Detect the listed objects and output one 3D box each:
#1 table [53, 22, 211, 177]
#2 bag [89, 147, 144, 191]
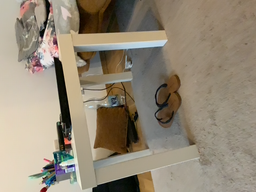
[{"bbox_3d":[-0.070,0.070,1.090,0.670,0.490,0.530,124,134,-64],"label":"table"},{"bbox_3d":[-0.100,0.670,1.700,0.270,0.330,0.430,136,123,-67],"label":"bag"}]
